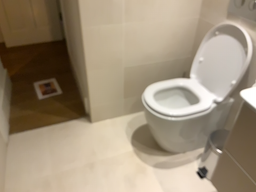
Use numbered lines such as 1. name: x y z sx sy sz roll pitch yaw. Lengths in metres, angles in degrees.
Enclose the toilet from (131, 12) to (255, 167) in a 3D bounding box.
1. toilet: 0.350 -0.030 1.380 0.510 0.850 0.400 -13 40 -18
